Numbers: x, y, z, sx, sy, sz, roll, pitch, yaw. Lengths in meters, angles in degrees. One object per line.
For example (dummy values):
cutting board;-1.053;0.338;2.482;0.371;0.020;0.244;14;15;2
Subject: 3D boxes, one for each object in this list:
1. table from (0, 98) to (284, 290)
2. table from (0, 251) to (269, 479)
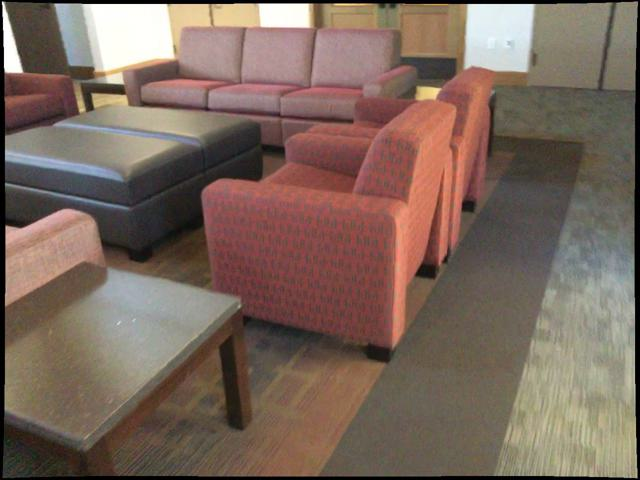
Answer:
table;-1.109;-0.380;3.420;1.249;0.540;1.320;9;30;26
table;-0.599;0.430;1.660;0.600;0.470;0.650;9;30;26
